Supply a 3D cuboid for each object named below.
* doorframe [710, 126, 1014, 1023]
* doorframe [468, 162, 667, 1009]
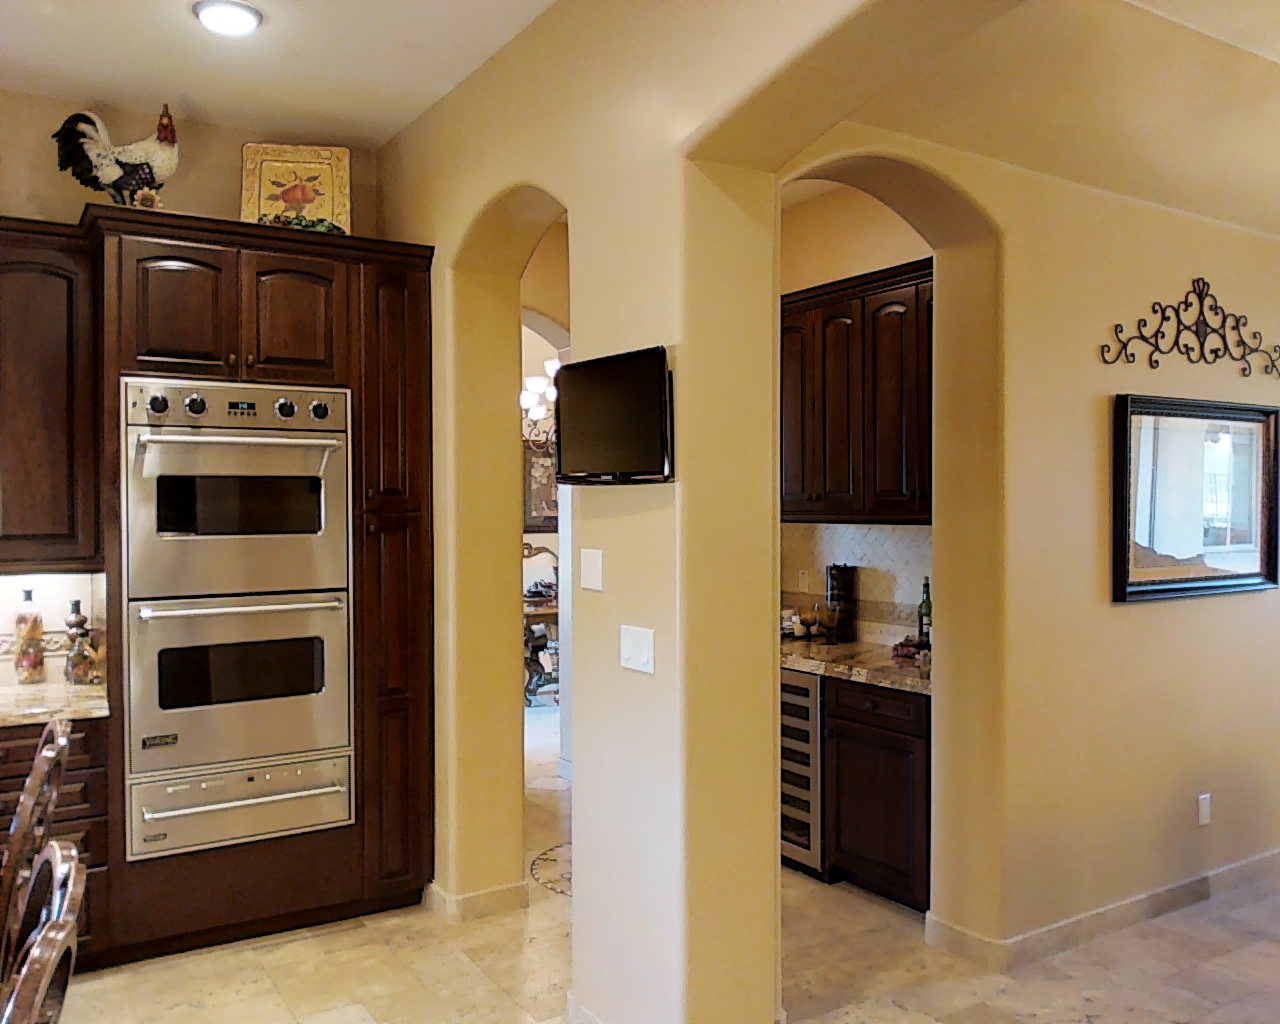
[{"bbox_3d":[0.720,0.210,3.400,0.940,2.580,0.390,0,0,-32],"label":"doorframe"},{"bbox_3d":[-0.280,0.220,3.680,0.280,2.550,0.930,0,0,-32],"label":"doorframe"}]
